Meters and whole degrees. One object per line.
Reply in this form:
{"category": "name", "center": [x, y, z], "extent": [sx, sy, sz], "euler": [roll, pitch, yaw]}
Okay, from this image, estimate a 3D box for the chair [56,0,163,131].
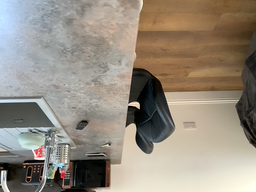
{"category": "chair", "center": [-0.110, -0.280, 1.390], "extent": [0.490, 0.890, 0.490], "euler": [-2, 154, -3]}
